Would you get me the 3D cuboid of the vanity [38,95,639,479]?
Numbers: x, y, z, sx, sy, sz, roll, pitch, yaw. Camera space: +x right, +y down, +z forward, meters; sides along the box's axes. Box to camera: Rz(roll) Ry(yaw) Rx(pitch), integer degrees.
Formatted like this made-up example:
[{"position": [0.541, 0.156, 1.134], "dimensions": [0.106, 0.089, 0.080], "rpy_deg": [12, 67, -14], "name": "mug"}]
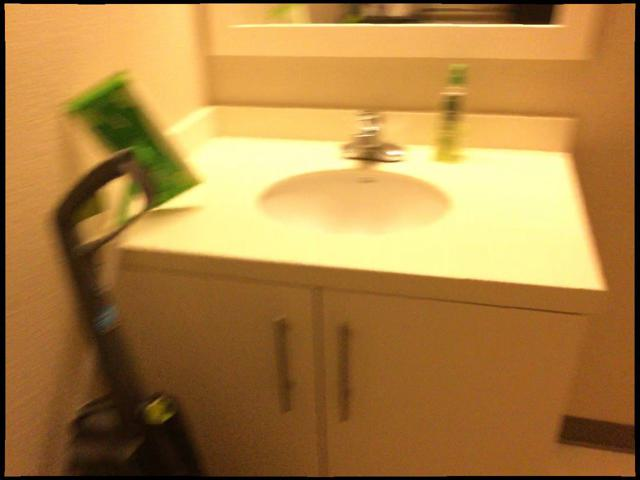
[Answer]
[{"position": [0.070, 0.261, 1.320], "dimensions": [0.888, 0.961, 0.640], "rpy_deg": [7, 31, 13], "name": "vanity"}]
